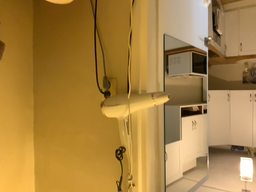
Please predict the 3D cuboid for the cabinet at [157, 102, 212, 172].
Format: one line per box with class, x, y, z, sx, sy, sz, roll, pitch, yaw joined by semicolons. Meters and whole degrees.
cabinet;0.890;0.510;3.170;0.400;0.790;1.210;0;-179;35
